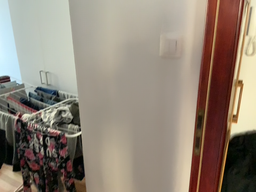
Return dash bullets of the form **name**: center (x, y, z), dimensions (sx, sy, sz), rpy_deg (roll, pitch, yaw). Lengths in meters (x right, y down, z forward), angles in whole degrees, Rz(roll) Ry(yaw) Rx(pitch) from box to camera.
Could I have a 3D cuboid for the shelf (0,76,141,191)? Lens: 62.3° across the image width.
- **shelf**: center (-0.640, 0.470, 1.820), dimensions (1.310, 1.000, 0.720), rpy_deg (11, 22, 30)
